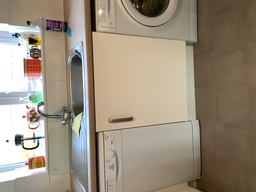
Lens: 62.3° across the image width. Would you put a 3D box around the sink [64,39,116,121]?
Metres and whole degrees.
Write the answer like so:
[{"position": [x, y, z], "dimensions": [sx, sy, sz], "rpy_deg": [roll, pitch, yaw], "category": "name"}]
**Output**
[{"position": [-0.300, -0.100, 1.550], "dimensions": [0.520, 0.200, 0.490], "rpy_deg": [0, 93, 62], "category": "sink"}]
